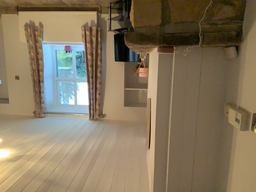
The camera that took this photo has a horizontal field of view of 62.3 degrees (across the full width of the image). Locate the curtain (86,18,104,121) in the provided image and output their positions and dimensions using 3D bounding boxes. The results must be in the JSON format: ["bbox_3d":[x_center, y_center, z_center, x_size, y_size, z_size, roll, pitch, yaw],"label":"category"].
[{"bbox_3d":[-0.670,-0.510,4.360,0.320,2.050,0.240,1,-170,-3],"label":"curtain"}]

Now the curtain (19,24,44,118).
[{"bbox_3d":[-1.970,-0.490,4.380,0.290,1.860,0.270,2,-170,1],"label":"curtain"}]
